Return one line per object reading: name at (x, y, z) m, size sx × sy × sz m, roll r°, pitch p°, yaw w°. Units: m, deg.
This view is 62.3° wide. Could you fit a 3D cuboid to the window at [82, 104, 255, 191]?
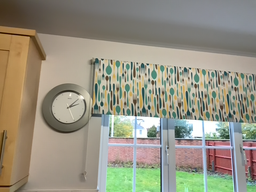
window at (0.510, 0.540, 1.760) m, size 1.710 × 0.840 × 0.070 m, roll 4°, pitch -12°, yaw -12°
